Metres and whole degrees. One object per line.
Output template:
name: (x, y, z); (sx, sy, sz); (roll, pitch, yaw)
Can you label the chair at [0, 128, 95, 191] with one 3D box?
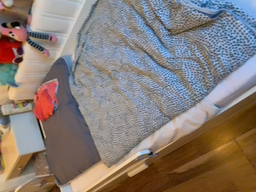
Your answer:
chair: (-0.820, 0.660, 2.170); (0.380, 0.770, 0.410); (-43, 63, 40)
